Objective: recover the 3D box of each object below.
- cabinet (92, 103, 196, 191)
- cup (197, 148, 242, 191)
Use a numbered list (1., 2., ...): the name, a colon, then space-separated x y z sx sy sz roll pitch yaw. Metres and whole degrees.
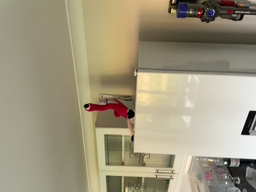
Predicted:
1. cabinet: 0.110 0.580 2.010 0.310 0.790 0.990 -86 -1 -58
2. cup: 0.840 0.820 2.020 0.400 0.170 0.480 -86 -1 -58
